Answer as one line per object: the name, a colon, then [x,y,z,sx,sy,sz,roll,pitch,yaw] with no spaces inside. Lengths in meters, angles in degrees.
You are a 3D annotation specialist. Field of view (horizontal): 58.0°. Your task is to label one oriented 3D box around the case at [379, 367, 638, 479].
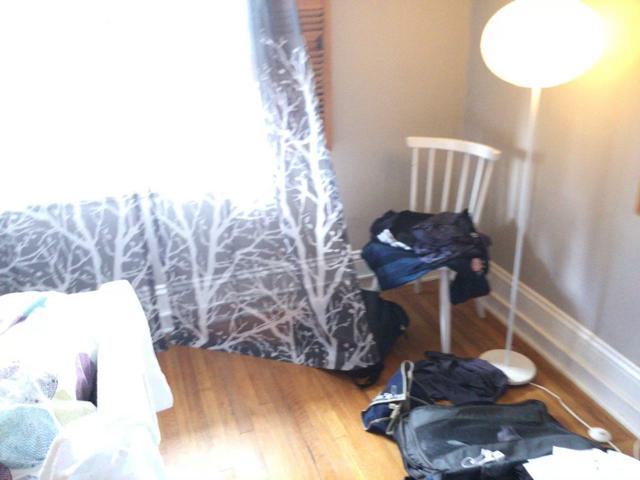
case: [0.560,0.710,1.670,0.600,0.160,0.810,-4,25,-7]
